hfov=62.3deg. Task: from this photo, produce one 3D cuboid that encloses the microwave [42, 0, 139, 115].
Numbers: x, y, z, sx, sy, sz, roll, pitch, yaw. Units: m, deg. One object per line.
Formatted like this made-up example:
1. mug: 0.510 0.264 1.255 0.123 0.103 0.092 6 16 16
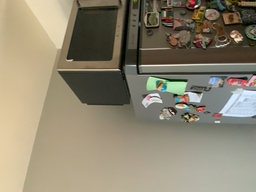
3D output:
1. microwave: -0.140 -0.250 1.270 0.630 0.340 0.570 71 -158 -68
